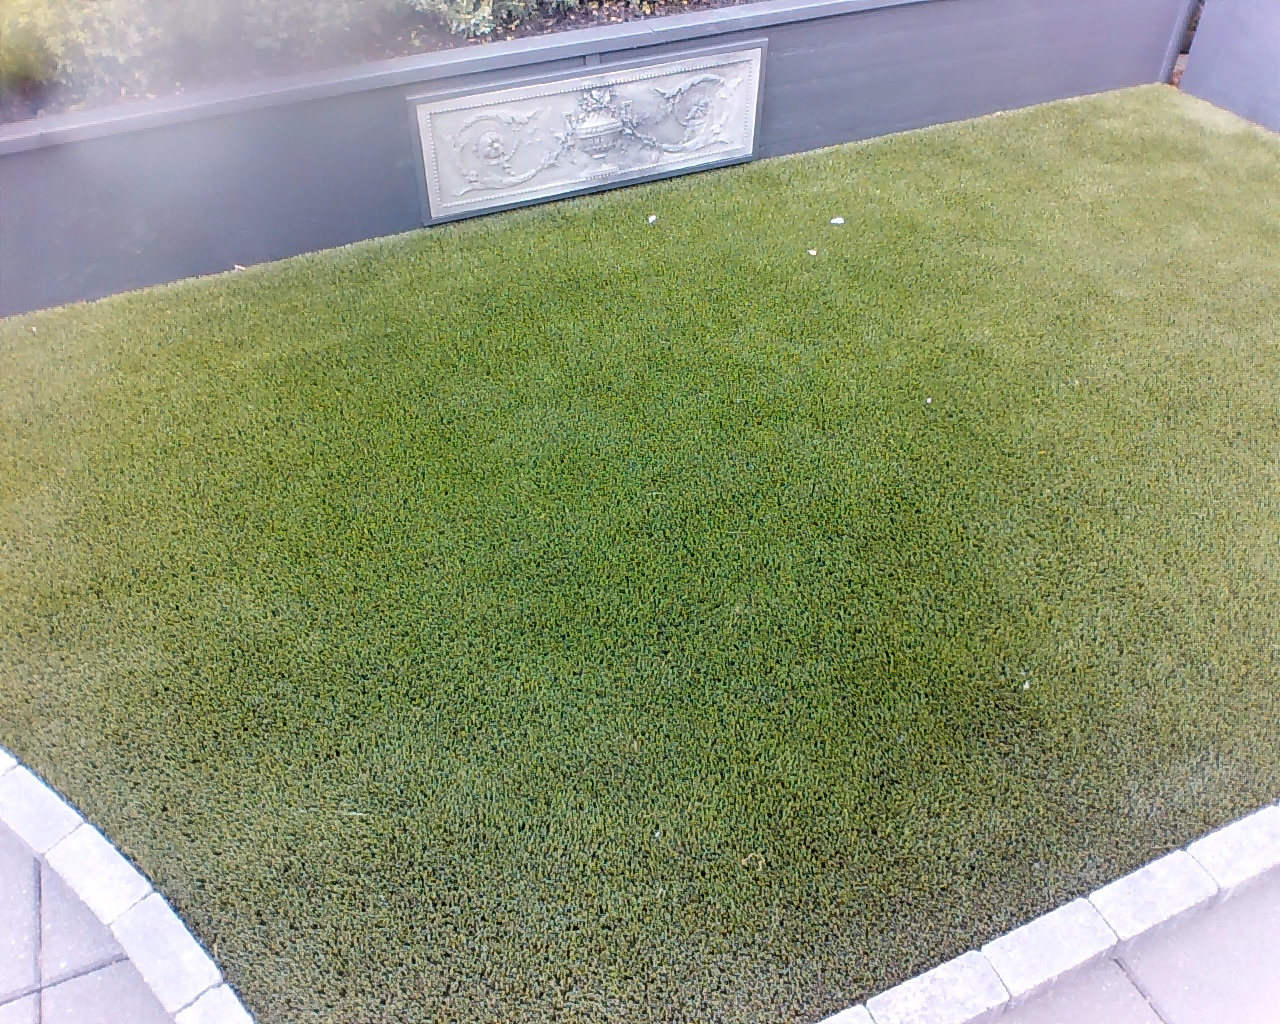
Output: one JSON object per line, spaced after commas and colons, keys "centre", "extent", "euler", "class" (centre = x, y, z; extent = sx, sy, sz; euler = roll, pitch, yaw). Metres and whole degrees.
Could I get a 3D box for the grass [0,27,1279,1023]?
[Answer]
{"centre": [-0.040, -0.170, 2.260], "extent": [5.199, 0.150, 2.740], "euler": [-16, 45, -16], "class": "grass"}
